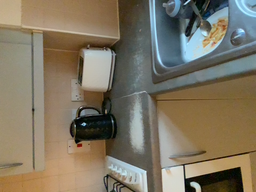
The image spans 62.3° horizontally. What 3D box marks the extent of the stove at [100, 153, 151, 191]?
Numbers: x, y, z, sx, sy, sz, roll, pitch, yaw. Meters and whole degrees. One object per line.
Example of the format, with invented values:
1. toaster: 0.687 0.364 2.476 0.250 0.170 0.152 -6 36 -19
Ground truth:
1. stove: -0.030 0.640 1.120 0.560 0.030 0.580 -13 79 63
